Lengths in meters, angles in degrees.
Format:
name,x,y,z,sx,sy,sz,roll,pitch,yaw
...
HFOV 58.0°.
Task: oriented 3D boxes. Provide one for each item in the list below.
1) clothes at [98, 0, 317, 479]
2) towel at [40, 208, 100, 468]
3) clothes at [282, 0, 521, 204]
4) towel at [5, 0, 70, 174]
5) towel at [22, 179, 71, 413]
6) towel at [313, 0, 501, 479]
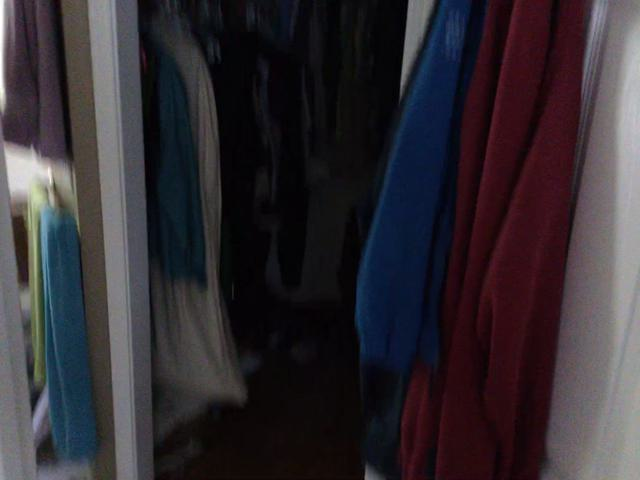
name,x,y,z,sx,sy,sz,roll,pitch,yaw
clothes,-0.400,-0.030,2.430,0.470,1.640,1.200,7,14,7
towel,-0.810,0.300,1.870,0.110,0.750,0.340,-4,17,-33
clothes,0.380,-0.750,2.900,0.980,0.950,0.560,7,14,7
towel,-0.790,-0.530,1.610,0.110,0.660,0.240,-5,17,-36
towel,-0.970,0.180,2.030,0.090,0.720,0.390,-2,17,-34
towel,0.150,-0.140,0.990,0.190,1.210,0.300,7,14,7
